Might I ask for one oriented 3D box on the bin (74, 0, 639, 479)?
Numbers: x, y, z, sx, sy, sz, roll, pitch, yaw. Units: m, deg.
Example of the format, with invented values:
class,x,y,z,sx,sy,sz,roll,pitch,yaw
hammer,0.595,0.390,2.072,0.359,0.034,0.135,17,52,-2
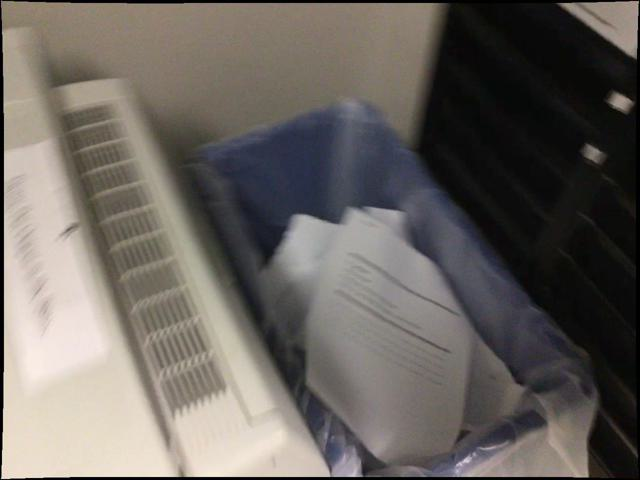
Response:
class,x,y,z,sx,sy,sz,roll,pitch,yaw
bin,0.100,0.241,0.880,0.449,0.891,0.680,-25,53,-16
